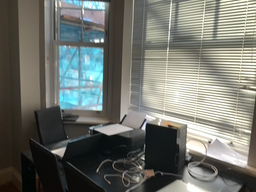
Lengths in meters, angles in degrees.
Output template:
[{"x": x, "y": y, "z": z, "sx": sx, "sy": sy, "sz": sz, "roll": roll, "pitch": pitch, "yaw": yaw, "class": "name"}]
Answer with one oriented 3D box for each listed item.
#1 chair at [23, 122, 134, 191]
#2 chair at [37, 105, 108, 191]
[{"x": -0.340, "y": 0.760, "z": 1.540, "sx": 0.410, "sy": 0.980, "sz": 0.630, "roll": 11, "pitch": 12, "yaw": 43, "class": "chair"}, {"x": -0.580, "y": 0.650, "z": 2.190, "sx": 0.600, "sy": 0.980, "sz": 0.410, "roll": 10, "pitch": 12, "yaw": 40, "class": "chair"}]
